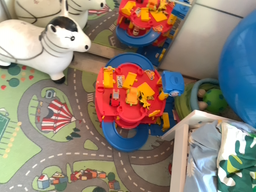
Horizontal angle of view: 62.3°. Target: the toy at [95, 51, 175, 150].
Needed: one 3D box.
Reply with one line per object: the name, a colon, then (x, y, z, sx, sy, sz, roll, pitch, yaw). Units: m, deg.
toy: (0.040, 0.030, 1.280, 0.330, 0.250, 0.460, 19, 63, -3)
